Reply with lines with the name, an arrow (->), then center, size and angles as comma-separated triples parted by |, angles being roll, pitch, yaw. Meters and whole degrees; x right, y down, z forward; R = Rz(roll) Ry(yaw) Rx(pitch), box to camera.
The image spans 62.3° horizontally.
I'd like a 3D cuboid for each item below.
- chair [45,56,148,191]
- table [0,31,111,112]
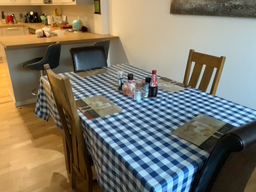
chair -> -0.210, 0.280, 1.540 | 0.530, 1.020, 0.400 | -12, 26, -28
table -> -1.190, -0.510, 3.540 | 1.600, 0.930, 0.820 | -16, 28, -34
